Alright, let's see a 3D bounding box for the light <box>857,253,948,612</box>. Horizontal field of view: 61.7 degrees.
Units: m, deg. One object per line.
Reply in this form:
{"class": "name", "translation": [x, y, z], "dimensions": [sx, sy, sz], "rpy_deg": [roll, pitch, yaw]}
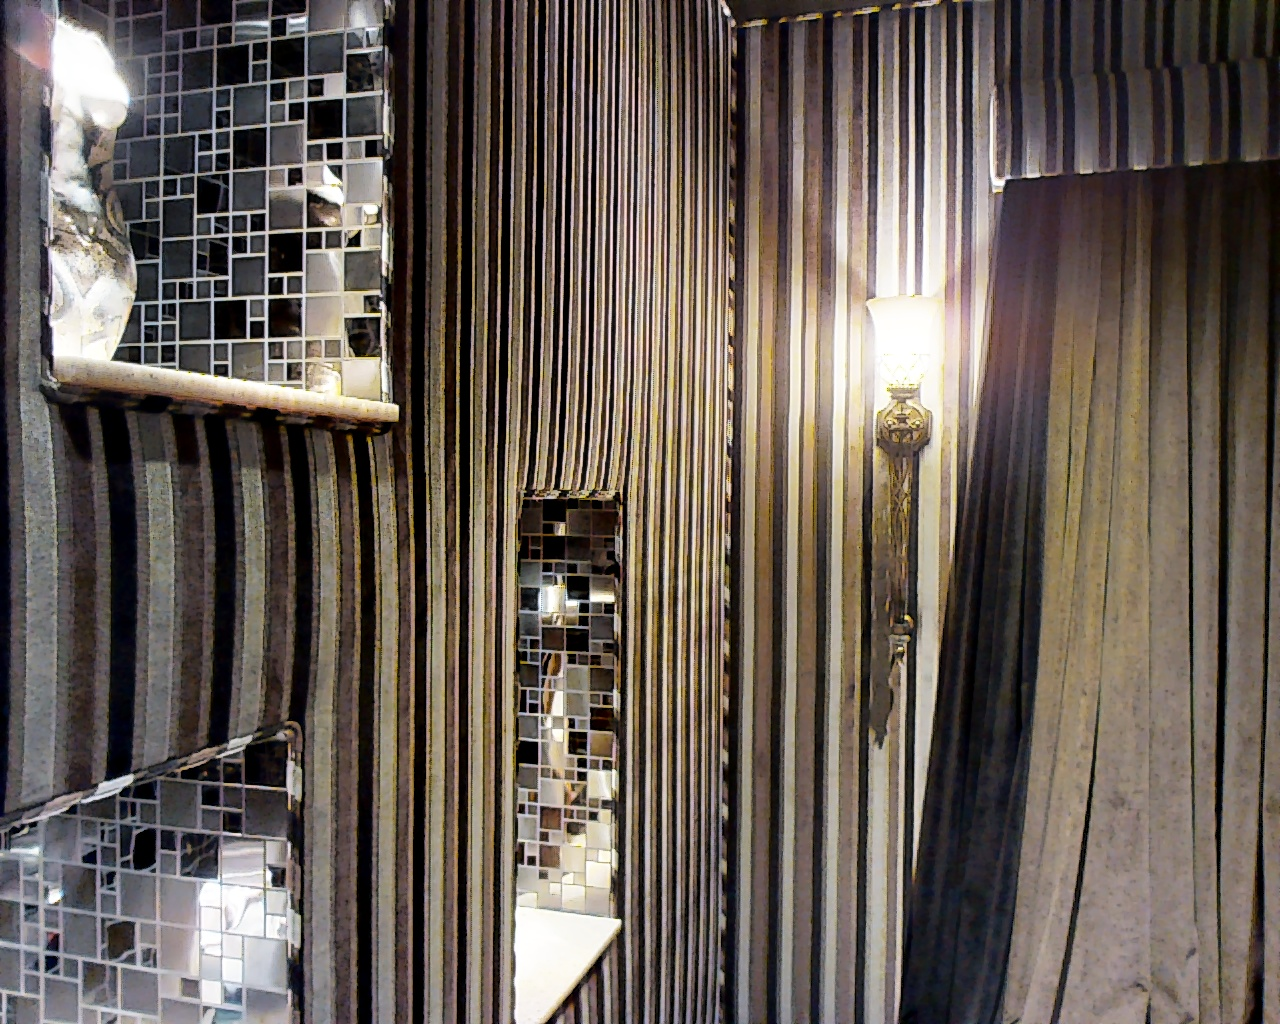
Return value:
{"class": "light", "translation": [0.660, -0.190, 2.680], "dimensions": [0.200, 0.850, 0.230], "rpy_deg": [1, 1, 17]}

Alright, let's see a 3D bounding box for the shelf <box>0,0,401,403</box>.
{"class": "shelf", "translation": [-0.530, -0.400, 1.040], "dimensions": [0.390, 0.540, 0.490], "rpy_deg": [1, 1, 17]}

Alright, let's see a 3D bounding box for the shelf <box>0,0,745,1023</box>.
{"class": "shelf", "translation": [-0.720, 0.190, 0.360], "dimensions": [0.440, 2.790, 5.480], "rpy_deg": [1, 1, 17]}
